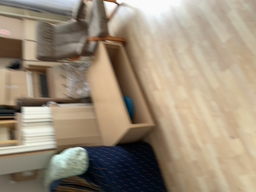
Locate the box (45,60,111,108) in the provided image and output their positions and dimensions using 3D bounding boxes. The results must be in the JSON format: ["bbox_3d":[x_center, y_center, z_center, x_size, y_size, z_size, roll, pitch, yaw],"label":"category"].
[{"bbox_3d":[-0.770,-0.170,3.220,0.430,0.810,0.540,-60,42,39],"label":"box"}]

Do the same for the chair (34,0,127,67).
[{"bbox_3d":[-0.700,-0.950,2.930,0.850,0.970,0.740,-30,65,55],"label":"chair"}]

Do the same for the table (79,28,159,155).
[{"bbox_3d":[-0.210,-0.100,2.690,0.660,0.390,1.450,-56,45,42],"label":"table"}]
